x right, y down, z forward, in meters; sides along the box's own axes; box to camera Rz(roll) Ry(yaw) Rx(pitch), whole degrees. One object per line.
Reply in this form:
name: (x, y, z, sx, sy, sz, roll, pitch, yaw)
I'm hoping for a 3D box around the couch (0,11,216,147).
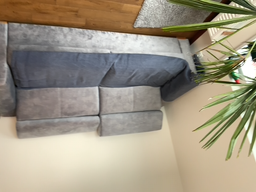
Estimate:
couch: (-0.340, -0.110, 2.530, 2.290, 0.990, 1.090, -2, 161, -24)
